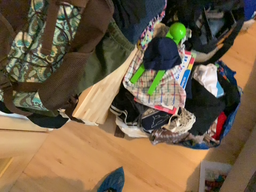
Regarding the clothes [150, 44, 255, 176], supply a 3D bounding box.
[{"bbox_3d":[0.400,0.080,1.160,0.300,0.350,0.540,34,83,9],"label":"clothes"}]
